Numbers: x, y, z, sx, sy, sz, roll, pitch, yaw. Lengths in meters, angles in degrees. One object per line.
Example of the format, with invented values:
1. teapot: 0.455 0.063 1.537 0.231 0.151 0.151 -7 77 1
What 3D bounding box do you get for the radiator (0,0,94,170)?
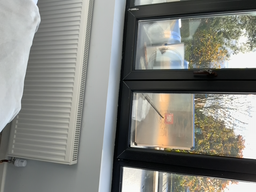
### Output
1. radiator: -0.560 -0.190 1.470 0.080 0.560 1.270 31 62 -71
